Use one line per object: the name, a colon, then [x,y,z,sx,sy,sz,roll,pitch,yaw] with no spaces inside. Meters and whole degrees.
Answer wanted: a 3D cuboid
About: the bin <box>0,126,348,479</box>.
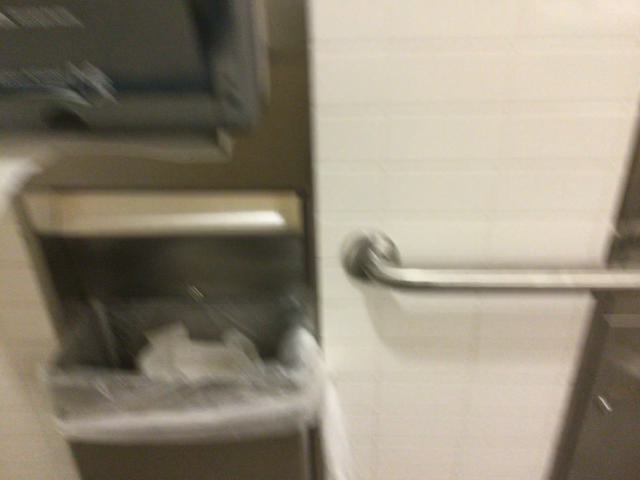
bin: [-0.210,0.270,0.970,0.440,0.850,0.250,4,34,-1]
